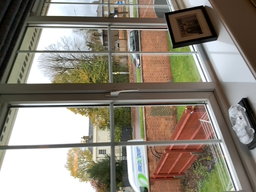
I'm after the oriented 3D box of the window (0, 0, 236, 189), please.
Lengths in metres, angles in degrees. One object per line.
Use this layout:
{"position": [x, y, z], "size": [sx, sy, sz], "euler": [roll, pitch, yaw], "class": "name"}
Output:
{"position": [-0.140, -0.290, 1.320], "size": [0.090, 1.050, 1.580], "euler": [97, 171, -52], "class": "window"}
